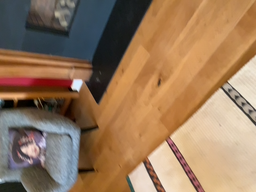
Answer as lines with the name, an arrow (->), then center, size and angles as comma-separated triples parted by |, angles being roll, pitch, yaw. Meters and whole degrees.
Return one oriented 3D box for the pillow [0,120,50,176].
pillow -> -1.060, 0.540, 2.160 | 0.110, 0.420, 0.440 | 11, 64, 22
